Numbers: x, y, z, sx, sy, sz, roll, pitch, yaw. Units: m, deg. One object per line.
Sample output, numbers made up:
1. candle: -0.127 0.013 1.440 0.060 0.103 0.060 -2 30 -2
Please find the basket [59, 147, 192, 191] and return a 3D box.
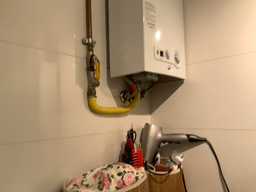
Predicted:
1. basket: 0.030 0.330 0.790 0.170 0.190 0.530 -6 -6 43
